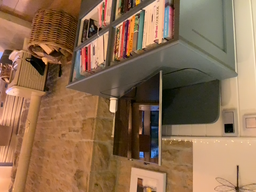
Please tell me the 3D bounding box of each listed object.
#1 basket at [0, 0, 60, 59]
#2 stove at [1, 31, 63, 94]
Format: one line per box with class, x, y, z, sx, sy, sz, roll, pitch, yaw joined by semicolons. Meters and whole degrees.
basket;-1.200;-0.830;2.420;0.540;0.530;0.580;16;163;-40
stove;-1.470;-0.460;3.260;0.630;0.690;0.560;15;163;-38
